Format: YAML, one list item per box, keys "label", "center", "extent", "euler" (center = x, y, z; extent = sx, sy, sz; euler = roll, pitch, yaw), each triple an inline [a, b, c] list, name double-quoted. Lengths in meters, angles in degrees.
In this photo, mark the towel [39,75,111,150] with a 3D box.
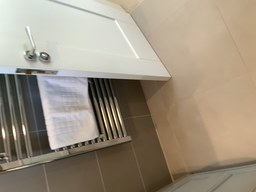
- label: "towel"
  center: [-0.270, 0.070, 1.110]
  extent: [0.080, 0.300, 0.350]
  euler: [-29, 72, 41]
